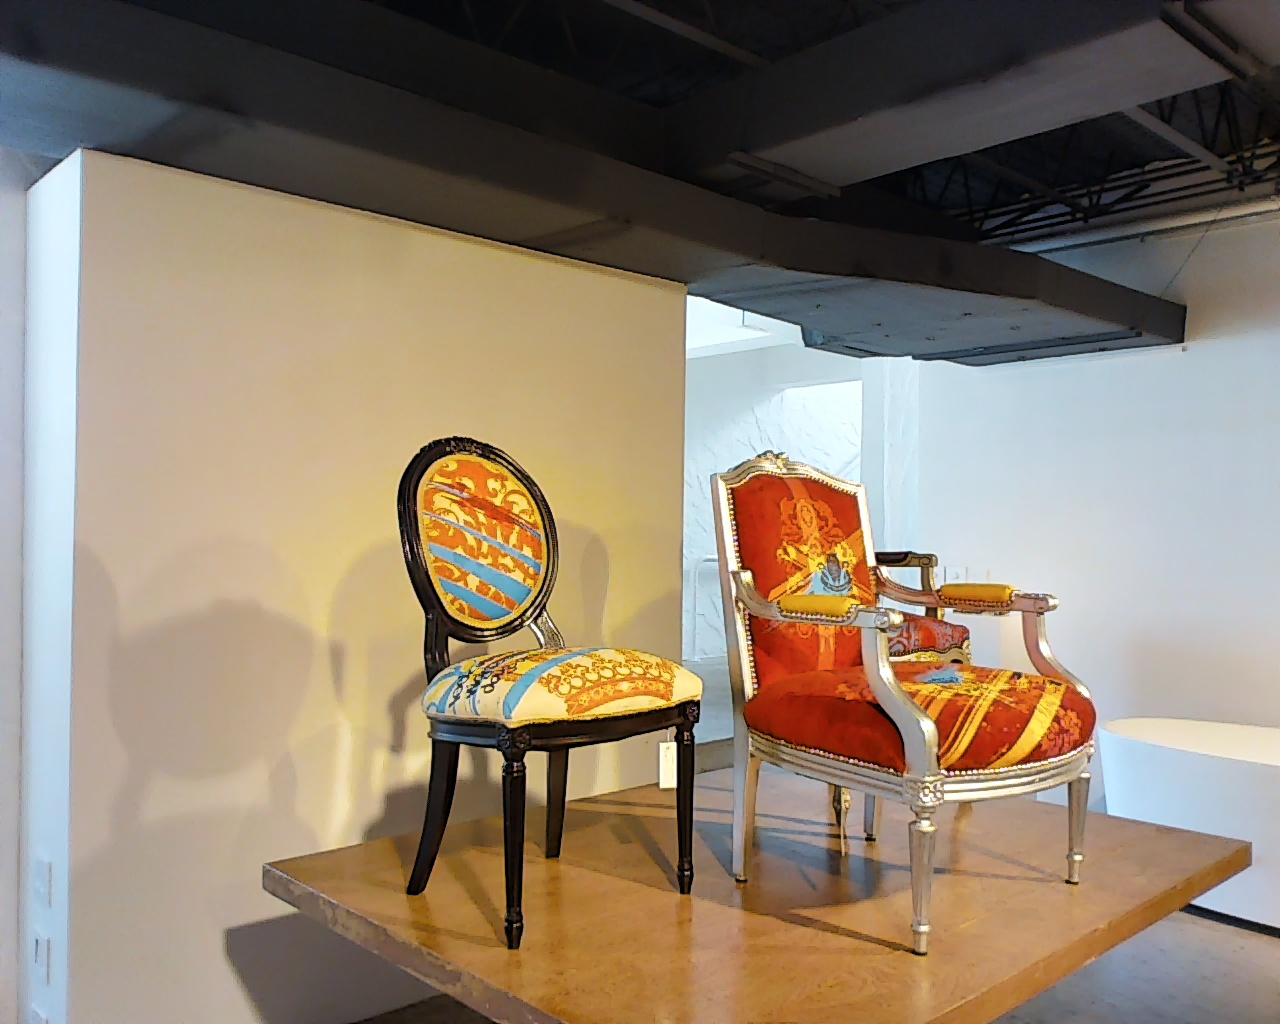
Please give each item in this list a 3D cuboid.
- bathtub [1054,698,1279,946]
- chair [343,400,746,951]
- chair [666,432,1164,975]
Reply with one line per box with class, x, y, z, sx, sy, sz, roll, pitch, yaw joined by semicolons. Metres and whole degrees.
bathtub;2.540;1.200;4.120;0.850;0.680;1.550;2;-1;-42
chair;-0.200;0.270;2.160;0.540;0.900;0.600;2;-1;-42
chair;0.560;0.310;2.220;0.680;0.870;0.730;2;-1;-42
